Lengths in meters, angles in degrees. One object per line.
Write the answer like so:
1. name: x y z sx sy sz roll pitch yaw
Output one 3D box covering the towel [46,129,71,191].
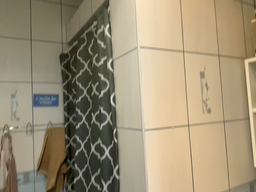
1. towel: -0.560 0.510 1.700 0.170 0.470 0.120 -1 -3 -24
